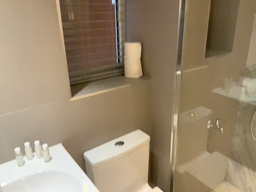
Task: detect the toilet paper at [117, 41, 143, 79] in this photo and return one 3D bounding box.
[{"bbox_3d":[0.010,-0.230,1.330,0.100,0.210,0.130,-16,26,-34],"label":"toilet paper"}]
